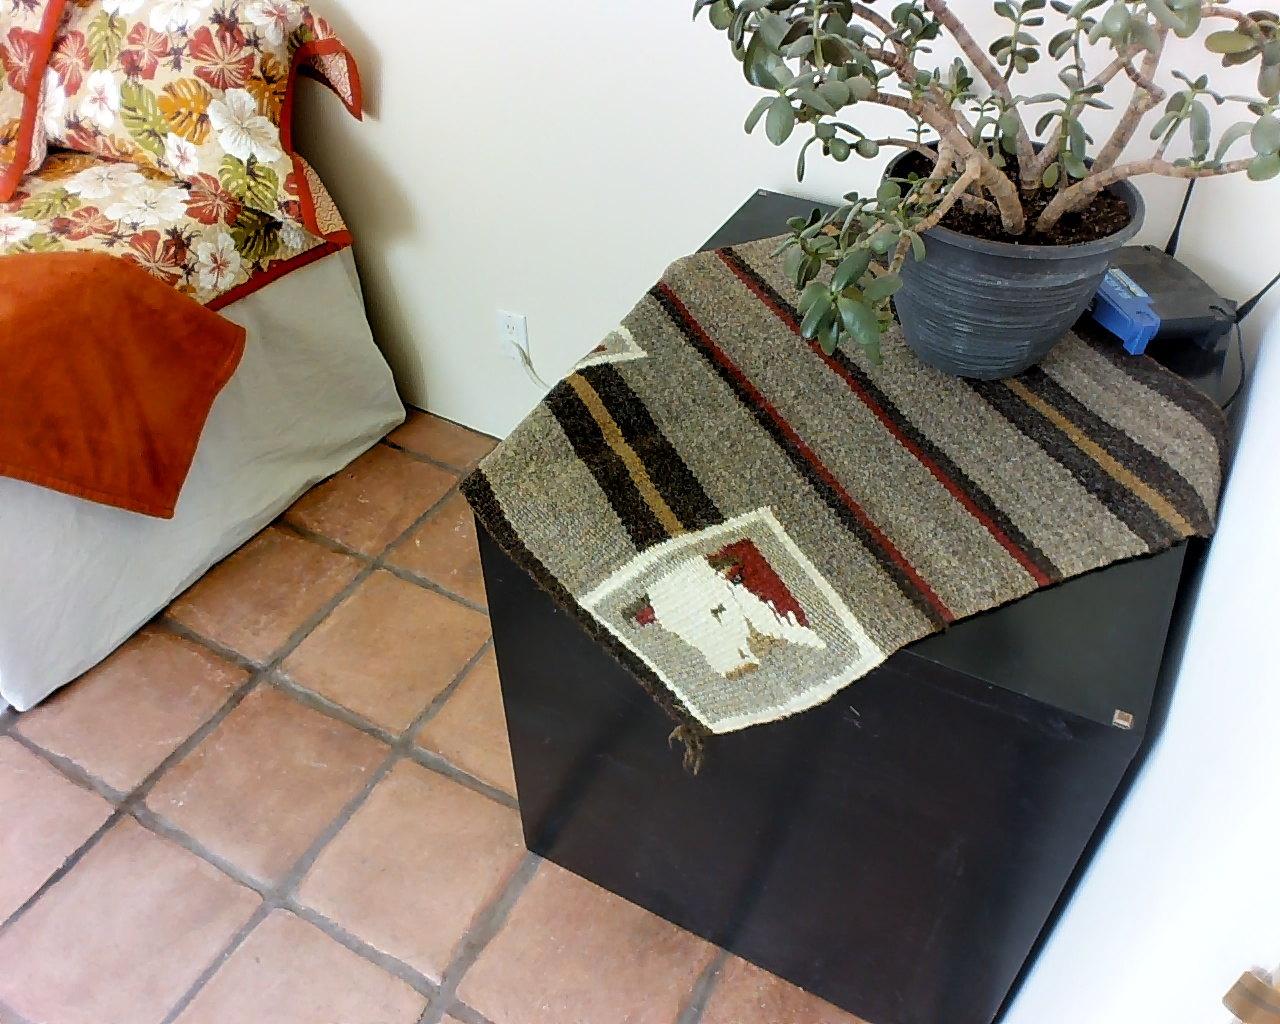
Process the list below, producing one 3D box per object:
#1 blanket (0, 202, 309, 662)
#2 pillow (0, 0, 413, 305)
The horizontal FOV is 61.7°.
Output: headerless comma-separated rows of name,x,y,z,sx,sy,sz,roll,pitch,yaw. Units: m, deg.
blanket,-1.140,-0.090,1.720,1.060,0.500,0.480,-11,43,-11
pillow,-1.480,-0.990,2.250,2.190,0.450,0.330,21,47,22
